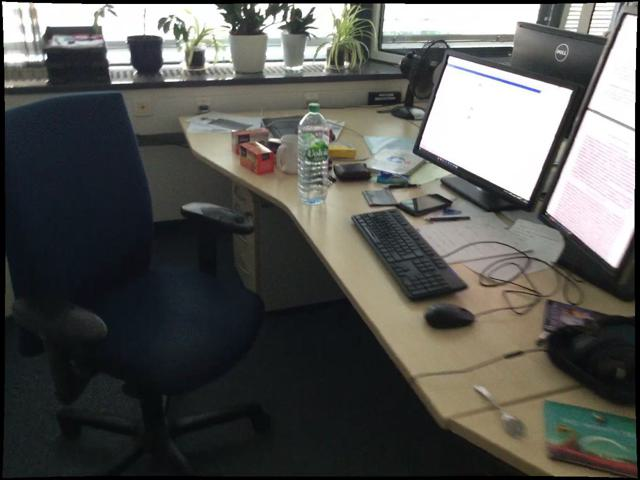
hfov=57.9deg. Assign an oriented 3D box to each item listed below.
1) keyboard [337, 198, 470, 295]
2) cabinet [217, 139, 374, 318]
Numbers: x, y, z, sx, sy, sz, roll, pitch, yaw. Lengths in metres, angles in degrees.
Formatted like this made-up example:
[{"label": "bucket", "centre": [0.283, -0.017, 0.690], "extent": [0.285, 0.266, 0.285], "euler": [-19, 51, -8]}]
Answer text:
[{"label": "keyboard", "centre": [0.200, 0.000, 1.500], "extent": [0.180, 0.030, 0.410], "euler": [-9, 31, -17]}, {"label": "cabinet", "centre": [-0.120, -0.070, 2.520], "extent": [0.530, 0.550, 0.480], "euler": [-9, 31, -17]}]
